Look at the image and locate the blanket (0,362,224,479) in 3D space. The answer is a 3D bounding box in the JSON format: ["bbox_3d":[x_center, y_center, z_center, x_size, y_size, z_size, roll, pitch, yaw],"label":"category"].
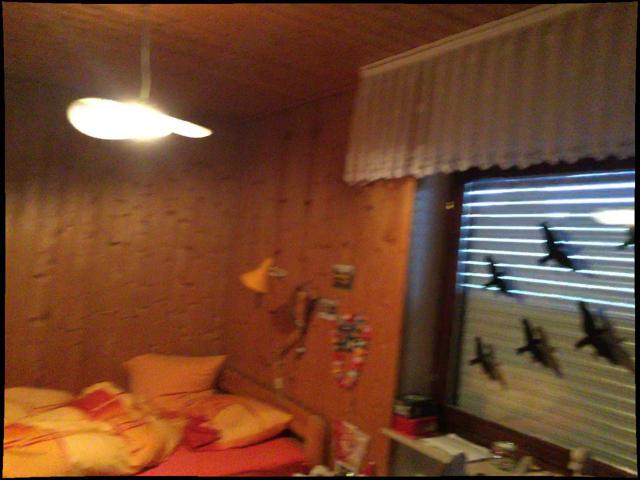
[{"bbox_3d":[-1.429,0.861,2.720,1.639,0.260,1.030,5,0,-34],"label":"blanket"}]

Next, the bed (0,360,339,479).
[{"bbox_3d":[-1.169,1.161,2.900,2.059,0.721,1.380,5,0,-34],"label":"bed"}]

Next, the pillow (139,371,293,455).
[{"bbox_3d":[-0.629,0.961,3.340,0.550,0.160,0.910,5,0,-34],"label":"pillow"}]

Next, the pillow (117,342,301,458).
[{"bbox_3d":[-0.719,0.891,3.470,0.640,0.300,1.230,5,0,-34],"label":"pillow"}]
